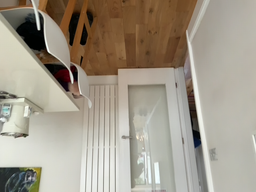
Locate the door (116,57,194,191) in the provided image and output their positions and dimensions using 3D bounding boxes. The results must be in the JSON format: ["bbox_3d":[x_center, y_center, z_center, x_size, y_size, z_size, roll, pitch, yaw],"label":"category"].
[{"bbox_3d":[0.300,0.460,2.780,0.890,2.050,0.200,-2,161,1],"label":"door"}]
